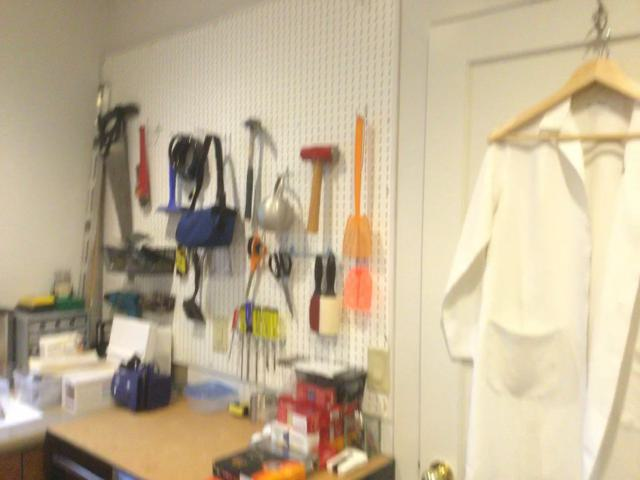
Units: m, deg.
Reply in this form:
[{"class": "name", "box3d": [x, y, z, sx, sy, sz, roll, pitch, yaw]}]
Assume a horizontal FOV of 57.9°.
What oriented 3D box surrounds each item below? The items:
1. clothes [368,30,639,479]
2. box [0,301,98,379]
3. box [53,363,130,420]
[{"class": "clothes", "box3d": [0.520, 0.540, 1.220, 0.900, 1.860, 0.150, 2, 2, 38]}, {"class": "box", "box3d": [-1.060, 0.360, 2.170, 0.260, 0.210, 0.340, 2, 2, 38]}, {"class": "box", "box3d": [-0.760, 0.500, 1.930, 0.150, 0.120, 0.190, 2, 2, 38]}]
